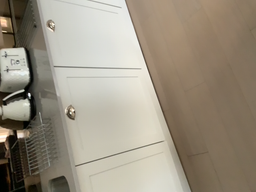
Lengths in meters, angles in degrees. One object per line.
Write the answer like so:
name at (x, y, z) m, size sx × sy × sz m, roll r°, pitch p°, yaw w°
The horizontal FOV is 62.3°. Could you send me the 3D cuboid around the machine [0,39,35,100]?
machine at (-0.880, -0.190, 1.590) m, size 0.320 × 0.220 × 0.330 m, roll -33°, pitch 68°, yaw 48°
